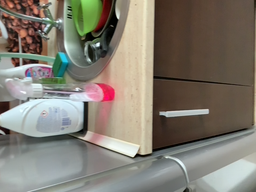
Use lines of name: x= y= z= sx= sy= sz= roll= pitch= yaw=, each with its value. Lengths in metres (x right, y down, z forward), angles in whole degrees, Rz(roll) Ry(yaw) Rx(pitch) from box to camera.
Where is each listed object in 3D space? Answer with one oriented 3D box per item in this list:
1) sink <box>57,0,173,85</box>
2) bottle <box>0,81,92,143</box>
sink: x=-0.080 y=-0.310 z=0.800 sx=0.480 sy=0.180 sz=0.520 roll=2 pitch=91 yaw=49
bottle: x=-0.290 y=0.040 z=0.660 sx=0.120 sy=0.330 sz=0.160 roll=5 pitch=93 yaw=49
